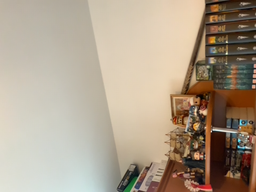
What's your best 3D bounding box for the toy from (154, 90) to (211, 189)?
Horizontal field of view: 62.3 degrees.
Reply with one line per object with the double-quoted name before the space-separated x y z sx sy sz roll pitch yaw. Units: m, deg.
"toy" 0.340 0.240 1.260 0.280 0.250 0.470 -45 -47 -53
